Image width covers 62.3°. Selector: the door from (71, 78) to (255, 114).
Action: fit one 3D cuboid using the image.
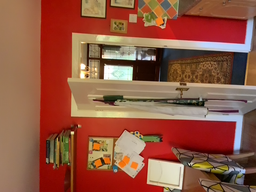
[{"bbox_3d":[0.460,0.030,2.120,0.680,1.920,0.050,107,164,-69],"label":"door"}]
